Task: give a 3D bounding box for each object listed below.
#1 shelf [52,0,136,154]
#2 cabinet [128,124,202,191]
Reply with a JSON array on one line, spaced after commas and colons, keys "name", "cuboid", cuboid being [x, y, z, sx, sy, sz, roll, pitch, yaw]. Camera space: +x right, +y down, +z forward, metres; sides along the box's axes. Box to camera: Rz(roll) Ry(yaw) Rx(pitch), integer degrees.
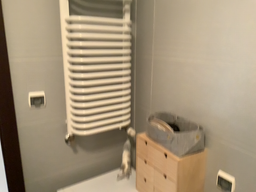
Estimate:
[{"name": "shelf", "cuboid": [-0.160, -0.400, 1.110, 0.420, 1.360, 0.120, -10, 18, -37]}, {"name": "cabinet", "cuboid": [0.170, 0.370, 1.100, 0.190, 0.330, 0.330, -9, 17, -32]}]
